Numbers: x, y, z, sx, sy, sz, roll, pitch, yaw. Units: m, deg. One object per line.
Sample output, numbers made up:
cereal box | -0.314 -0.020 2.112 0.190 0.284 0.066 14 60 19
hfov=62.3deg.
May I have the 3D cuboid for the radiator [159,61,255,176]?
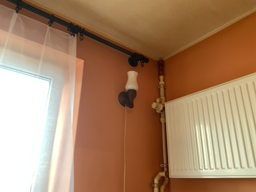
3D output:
radiator | 0.500 0.180 1.240 0.130 0.540 0.730 16 -26 -34
